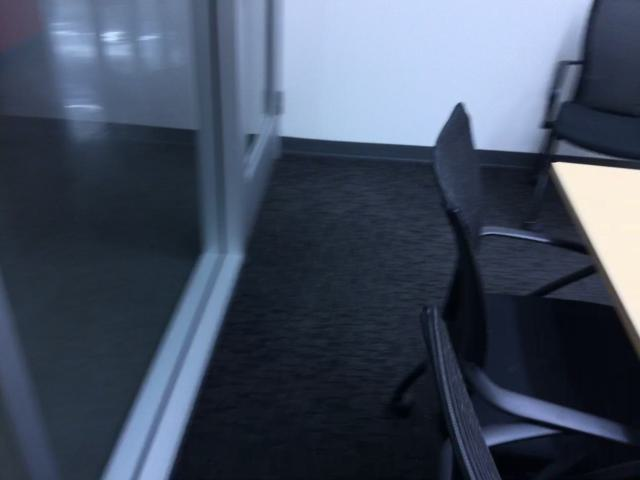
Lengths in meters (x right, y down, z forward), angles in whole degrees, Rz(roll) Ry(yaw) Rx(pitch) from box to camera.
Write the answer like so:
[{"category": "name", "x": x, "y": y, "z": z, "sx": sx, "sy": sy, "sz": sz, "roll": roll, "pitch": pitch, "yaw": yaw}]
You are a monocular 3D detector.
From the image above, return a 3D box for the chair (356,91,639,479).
[{"category": "chair", "x": 0.380, "y": 0.220, "z": 1.140, "sx": 0.580, "sy": 0.880, "sz": 0.490, "roll": -1, "pitch": 33, "yaw": 1}]

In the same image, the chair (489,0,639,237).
[{"category": "chair", "x": 1.060, "y": -0.580, "z": 2.350, "sx": 0.570, "sy": 0.890, "sz": 0.590, "roll": 8, "pitch": 34, "yaw": 14}]
